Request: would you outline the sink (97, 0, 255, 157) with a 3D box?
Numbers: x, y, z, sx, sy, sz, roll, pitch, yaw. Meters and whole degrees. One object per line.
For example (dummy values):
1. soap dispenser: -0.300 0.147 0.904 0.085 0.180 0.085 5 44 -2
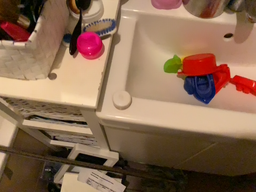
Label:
1. sink: 0.260 -0.080 0.560 0.590 0.170 0.420 8 66 2
